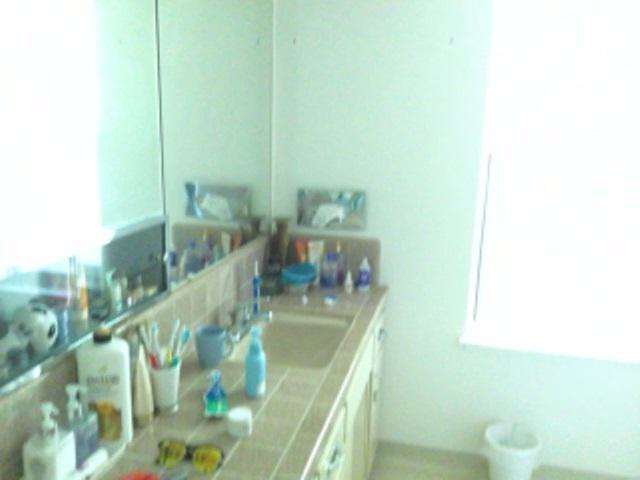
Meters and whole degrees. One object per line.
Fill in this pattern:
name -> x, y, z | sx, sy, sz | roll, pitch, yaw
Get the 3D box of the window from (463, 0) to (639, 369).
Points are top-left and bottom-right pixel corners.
window -> 0.930, -0.330, 2.060 | 0.790, 1.540, 0.250 | 1, 12, 17

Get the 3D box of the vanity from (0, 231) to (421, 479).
vanity -> -0.260, 0.740, 1.210 | 0.610, 1.030, 2.680 | 1, 12, 17
